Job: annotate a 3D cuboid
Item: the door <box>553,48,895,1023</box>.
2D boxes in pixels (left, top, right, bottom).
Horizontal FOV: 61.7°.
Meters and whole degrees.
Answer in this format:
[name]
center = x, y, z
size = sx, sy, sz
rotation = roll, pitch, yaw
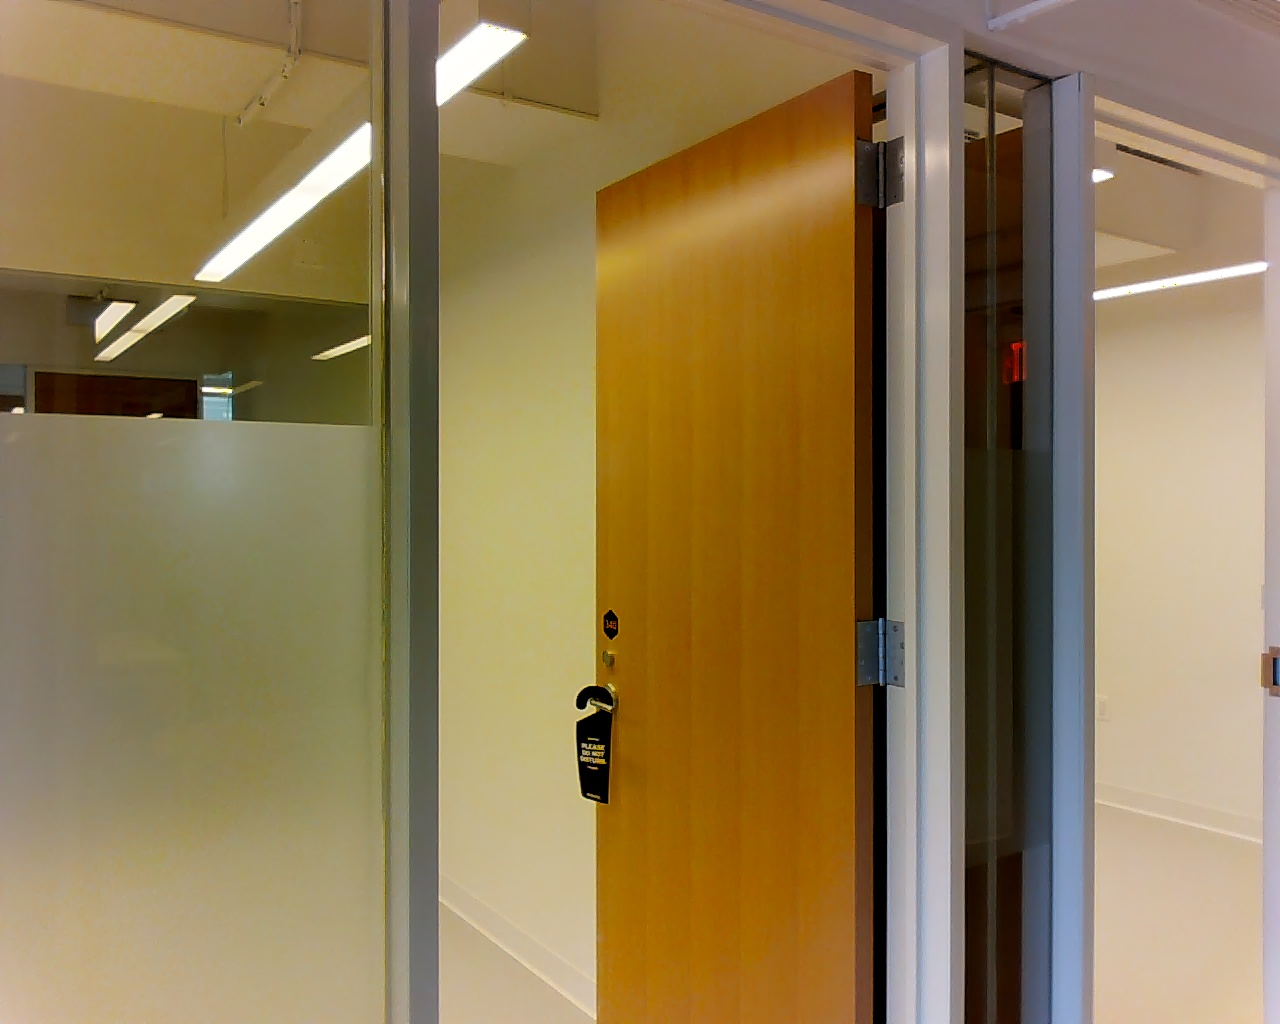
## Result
[door]
center = 0.110, 0.330, 2.260
size = 0.070, 2.220, 1.060
rotation = 0, 0, -34
